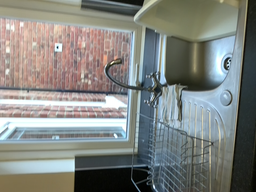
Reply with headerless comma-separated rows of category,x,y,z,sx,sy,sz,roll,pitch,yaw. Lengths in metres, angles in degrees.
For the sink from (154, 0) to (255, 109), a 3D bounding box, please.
sink,0.290,-0.240,0.740,0.530,0.170,0.490,-158,70,-73
